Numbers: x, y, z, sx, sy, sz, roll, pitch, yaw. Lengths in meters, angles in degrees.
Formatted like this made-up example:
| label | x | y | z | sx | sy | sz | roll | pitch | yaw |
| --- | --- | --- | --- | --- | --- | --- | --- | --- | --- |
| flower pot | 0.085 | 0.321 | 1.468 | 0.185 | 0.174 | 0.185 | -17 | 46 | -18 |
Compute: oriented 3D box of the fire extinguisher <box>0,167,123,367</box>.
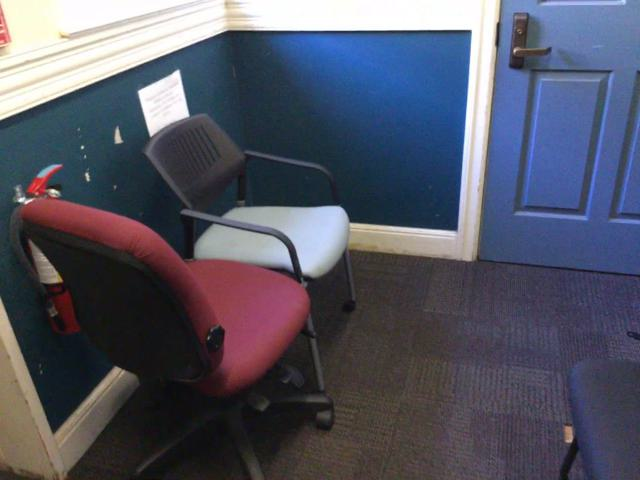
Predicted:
| label | x | y | z | sx | sy | sz | roll | pitch | yaw |
| --- | --- | --- | --- | --- | --- | --- | --- | --- | --- |
| fire extinguisher | -0.670 | 0.070 | 1.490 | 0.130 | 0.470 | 0.190 | 6 | 28 | 18 |

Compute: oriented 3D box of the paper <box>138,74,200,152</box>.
| label | x | y | z | sx | sy | sz | roll | pitch | yaw |
| --- | --- | --- | --- | --- | --- | --- | --- | --- | --- |
| paper | -0.520 | -0.450 | 2.020 | 0.030 | 0.220 | 0.300 | 6 | 22 | 18 |
